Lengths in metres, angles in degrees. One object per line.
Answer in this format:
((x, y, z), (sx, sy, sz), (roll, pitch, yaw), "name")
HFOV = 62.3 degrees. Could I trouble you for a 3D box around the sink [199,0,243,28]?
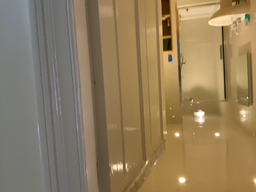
((1.260, -1.120, 2.930), (0.440, 0.170, 0.540), (-3, -176, 11), "sink")
